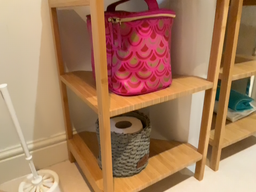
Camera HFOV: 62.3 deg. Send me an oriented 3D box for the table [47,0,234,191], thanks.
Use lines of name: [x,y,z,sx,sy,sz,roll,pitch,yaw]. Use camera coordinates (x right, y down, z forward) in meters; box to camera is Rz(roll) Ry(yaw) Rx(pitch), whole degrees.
table: [0.010,-0.020,0.650,0.350,0.590,0.360,-13,25,-28]
